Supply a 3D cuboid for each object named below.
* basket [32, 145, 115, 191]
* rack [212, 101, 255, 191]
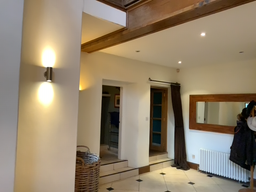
[{"bbox_3d":[-0.950,1.400,3.620,0.920,0.830,1.110,4,-3,-44],"label":"basket"},{"bbox_3d":[2.410,1.080,4.420,0.730,1.920,0.950,4,-3,-40],"label":"rack"}]
